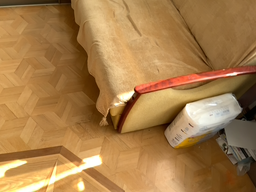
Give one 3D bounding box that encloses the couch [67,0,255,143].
[{"bbox_3d":[0.270,-0.600,1.430,1.130,0.930,1.330,-10,62,-19],"label":"couch"}]
